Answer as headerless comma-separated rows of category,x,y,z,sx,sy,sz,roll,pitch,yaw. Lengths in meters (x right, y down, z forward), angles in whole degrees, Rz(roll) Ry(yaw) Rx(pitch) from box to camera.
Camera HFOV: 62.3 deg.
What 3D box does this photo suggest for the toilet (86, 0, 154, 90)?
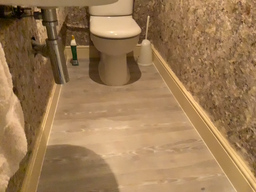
toilet,-0.110,-0.570,1.680,0.410,0.780,0.700,-4,32,-10
